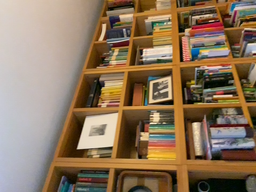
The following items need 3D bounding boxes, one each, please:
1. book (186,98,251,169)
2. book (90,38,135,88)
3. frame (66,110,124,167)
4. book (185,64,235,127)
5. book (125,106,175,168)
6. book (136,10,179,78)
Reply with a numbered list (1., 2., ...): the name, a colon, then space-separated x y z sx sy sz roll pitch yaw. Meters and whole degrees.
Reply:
1. book: 0.540 0.240 1.360 0.300 0.300 0.330 76 -163 -46
2. book: -0.130 -0.310 2.030 0.290 0.330 0.350 73 -161 -51
3. frame: -0.220 0.310 1.560 0.250 0.300 0.320 76 -163 -46
4. book: 0.590 0.000 1.610 0.320 0.280 0.350 76 -163 -46
5. book: 0.170 0.280 1.480 0.260 0.300 0.330 76 -163 -46
6. book: 0.300 -0.520 2.060 0.300 0.350 0.670 76 -163 -46
